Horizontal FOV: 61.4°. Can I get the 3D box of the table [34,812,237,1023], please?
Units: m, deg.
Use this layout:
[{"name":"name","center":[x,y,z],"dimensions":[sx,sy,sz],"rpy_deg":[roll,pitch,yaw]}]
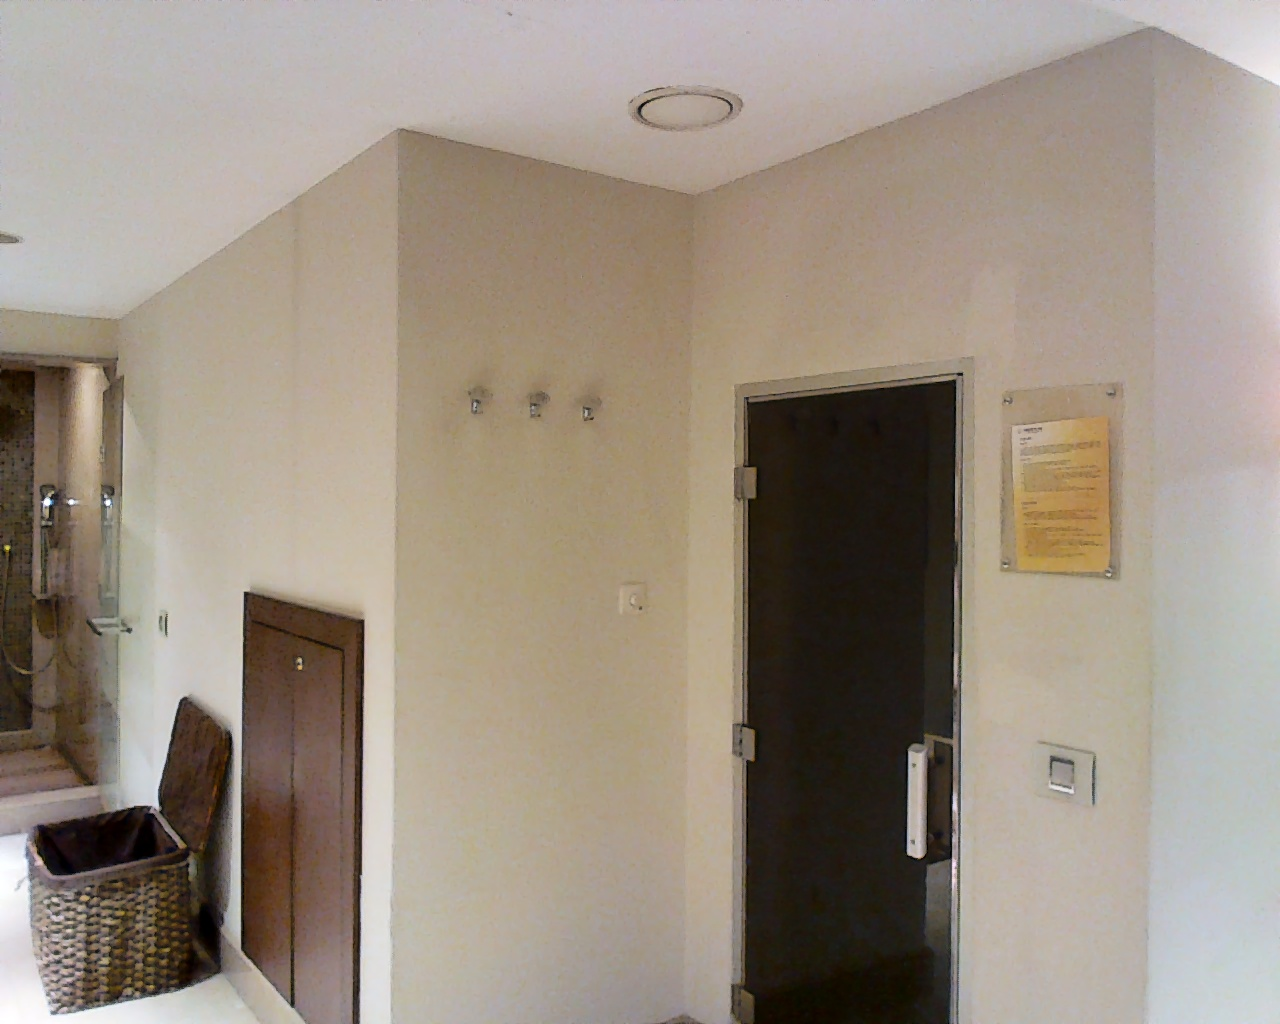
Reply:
[{"name":"table","center":[-1.700,1.360,3.600],"dimensions":[0.490,0.480,0.700],"rpy_deg":[1,-1,-36]}]
